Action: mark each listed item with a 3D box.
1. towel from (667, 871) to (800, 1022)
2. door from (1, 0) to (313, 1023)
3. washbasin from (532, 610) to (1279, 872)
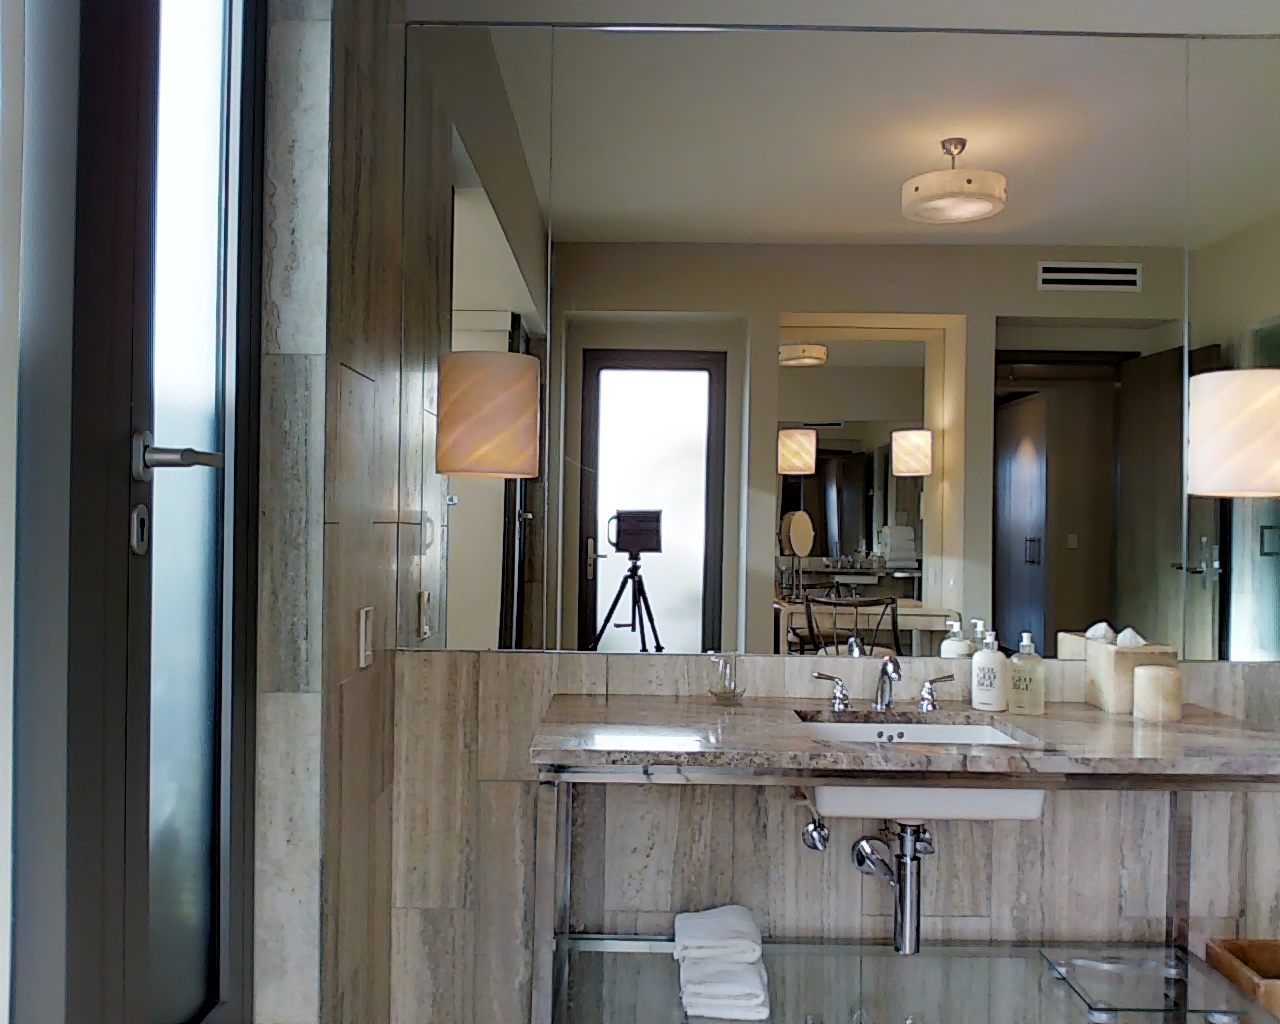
[{"bbox_3d":[0.190,0.930,2.340,0.250,0.150,0.430,1,0,0],"label":"towel"},{"bbox_3d":[-0.660,-0.150,1.590,0.090,2.120,0.750,1,0,0],"label":"door"},{"bbox_3d":[0.580,0.450,2.280,1.550,0.400,0.610,1,0,0],"label":"washbasin"}]
